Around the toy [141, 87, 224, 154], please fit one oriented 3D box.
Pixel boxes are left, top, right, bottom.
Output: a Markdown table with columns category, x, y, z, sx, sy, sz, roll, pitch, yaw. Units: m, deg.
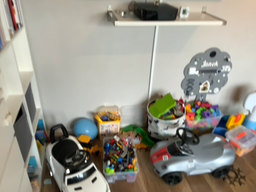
| category | x | y | z | sx | sy | sz | roll | pitch | yaw |
| --- | --- | --- | --- | --- | --- | --- | --- | --- | --- |
| toy | 0.490 | 0.220 | 2.060 | 0.600 | 0.430 | 0.400 | -4 | 33 | -12 |

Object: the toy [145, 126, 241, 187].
| category | x | y | z | sx | sy | sz | roll | pitch | yaw |
| --- | --- | --- | --- | --- | --- | --- | --- | --- | --- |
| toy | 0.520 | 0.490 | 1.790 | 0.660 | 0.230 | 0.340 | -5 | 33 | -13 |

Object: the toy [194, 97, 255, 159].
| category | x | y | z | sx | sy | sz | roll | pitch | yaw |
| --- | --- | --- | --- | --- | --- | --- | --- | --- | --- |
| toy | 0.990 | 0.290 | 2.110 | 0.380 | 0.300 | 0.530 | -5 | 33 | -12 |

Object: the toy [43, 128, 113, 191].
| category | x | y | z | sx | sy | sz | roll | pitch | yaw |
| --- | --- | --- | --- | --- | --- | --- | --- | --- | --- |
| toy | -0.370 | 0.560 | 1.580 | 0.420 | 0.240 | 0.640 | -5 | 33 | -12 |

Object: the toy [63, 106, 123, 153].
| category | x | y | z | sx | sy | sz | roll | pitch | yaw |
| --- | --- | --- | --- | --- | --- | --- | --- | --- | --- |
| toy | -0.330 | 0.310 | 2.020 | 0.520 | 0.330 | 0.210 | -5 | 33 | -12 |

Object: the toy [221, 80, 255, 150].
| category | x | y | z | sx | sy | sz | roll | pitch | yaw |
| --- | --- | --- | --- | --- | --- | --- | --- | --- | --- |
| toy | 1.330 | 0.170 | 2.160 | 0.390 | 0.480 | 0.480 | -6 | 33 | -14 |
